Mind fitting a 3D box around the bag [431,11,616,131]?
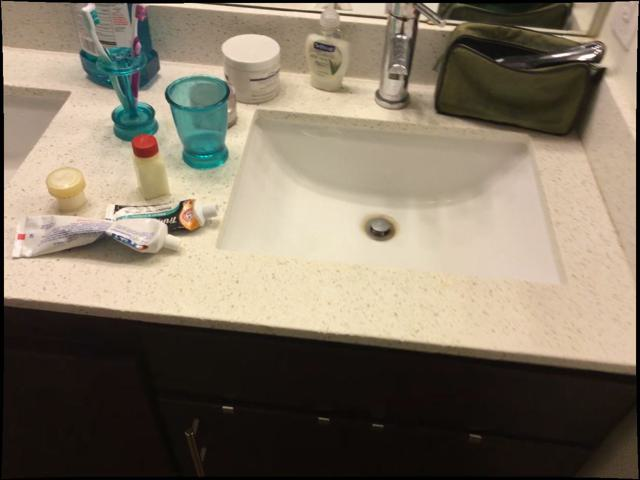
[{"bbox_3d":[0.309,-0.271,0.920,0.239,0.120,0.130,4,48,3],"label":"bag"}]
